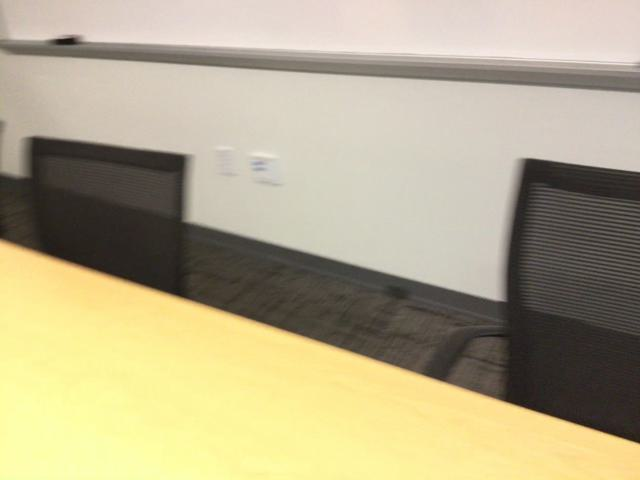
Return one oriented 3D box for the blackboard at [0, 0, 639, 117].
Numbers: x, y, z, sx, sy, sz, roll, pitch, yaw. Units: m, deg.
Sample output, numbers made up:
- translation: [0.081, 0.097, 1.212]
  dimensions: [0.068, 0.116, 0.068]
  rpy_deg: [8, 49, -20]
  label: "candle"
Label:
- translation: [-0.020, -0.700, 1.780]
  dimensions: [3.580, 0.430, 0.130]
  rpy_deg: [14, 36, 32]
  label: "blackboard"
